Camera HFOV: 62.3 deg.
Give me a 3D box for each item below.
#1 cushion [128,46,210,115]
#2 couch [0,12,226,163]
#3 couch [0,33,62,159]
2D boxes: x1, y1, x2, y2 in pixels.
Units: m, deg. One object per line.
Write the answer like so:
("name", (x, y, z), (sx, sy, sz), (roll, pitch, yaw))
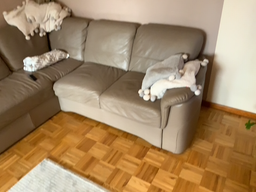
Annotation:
("cushion", (0.360, -0.170, 1.820), (0.520, 0.280, 0.550), (13, 37, 24))
("couch", (-0.320, -0.320, 2.360), (2.310, 0.850, 0.900), (17, 38, 28))
("couch", (-1.370, -0.060, 2.080), (0.920, 0.830, 0.840), (17, 38, 28))
